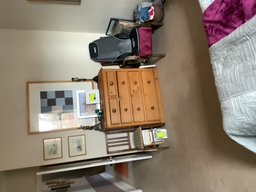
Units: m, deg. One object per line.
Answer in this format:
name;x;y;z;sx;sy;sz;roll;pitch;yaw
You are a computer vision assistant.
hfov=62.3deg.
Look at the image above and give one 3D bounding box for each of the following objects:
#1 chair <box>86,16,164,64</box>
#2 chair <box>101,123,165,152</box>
chair;-0.100;-0.870;3.540;0.870;1.070;0.500;176;92;-71
chair;0.070;0.680;3.470;0.480;0.900;0.360;142;124;-67
